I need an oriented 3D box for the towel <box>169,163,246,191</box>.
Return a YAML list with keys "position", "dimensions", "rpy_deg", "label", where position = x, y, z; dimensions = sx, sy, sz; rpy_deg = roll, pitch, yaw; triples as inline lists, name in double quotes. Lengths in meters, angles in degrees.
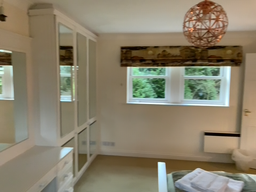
- position: [0.670, 0.730, 1.800]
  dimensions: [0.420, 0.060, 0.470]
  rpy_deg: [-6, 9, -44]
  label: "towel"
